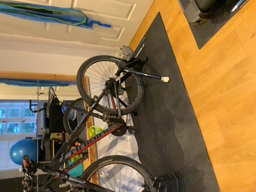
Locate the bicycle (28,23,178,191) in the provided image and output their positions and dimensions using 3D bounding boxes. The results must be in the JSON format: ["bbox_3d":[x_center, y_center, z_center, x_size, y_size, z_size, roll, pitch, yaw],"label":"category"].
[{"bbox_3d":[-0.290,0.310,1.840,0.530,1.030,1.770,132,133,-55],"label":"bicycle"}]
